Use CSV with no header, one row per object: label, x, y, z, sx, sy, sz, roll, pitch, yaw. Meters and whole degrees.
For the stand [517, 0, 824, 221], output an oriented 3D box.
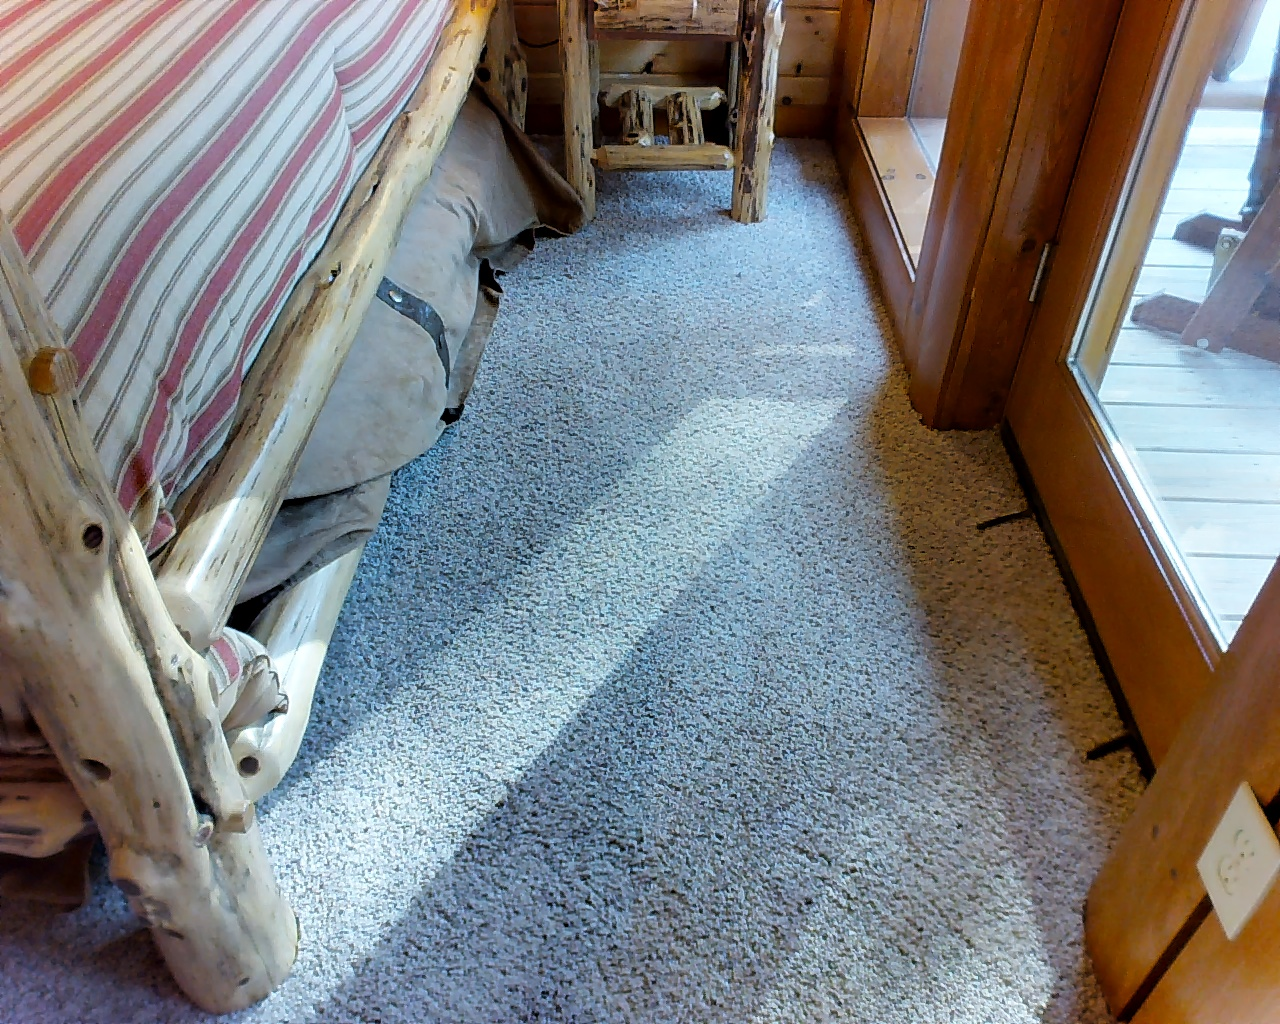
stand,0.060,-1.140,2.570,0.640,0.640,0.600,1,42,-1
